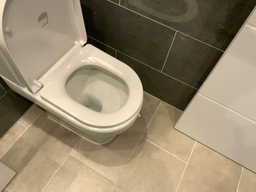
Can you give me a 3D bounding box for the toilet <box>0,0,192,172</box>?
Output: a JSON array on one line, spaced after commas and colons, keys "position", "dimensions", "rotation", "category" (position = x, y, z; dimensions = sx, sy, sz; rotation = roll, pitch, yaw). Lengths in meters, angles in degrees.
[{"position": [-0.210, -0.090, 0.950], "dimensions": [0.610, 0.830, 0.400], "rotation": [30, 60, 11], "category": "toilet"}]
